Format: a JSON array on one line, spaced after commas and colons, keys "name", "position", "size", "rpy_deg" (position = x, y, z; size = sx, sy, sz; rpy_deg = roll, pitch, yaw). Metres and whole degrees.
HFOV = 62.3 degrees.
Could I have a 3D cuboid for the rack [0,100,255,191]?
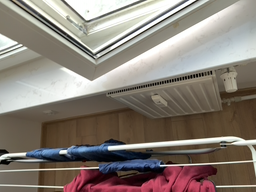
[{"name": "rack", "position": [-0.100, 0.580, 1.150], "size": [1.690, 1.040, 0.690], "rpy_deg": [-10, 72, 23]}]
